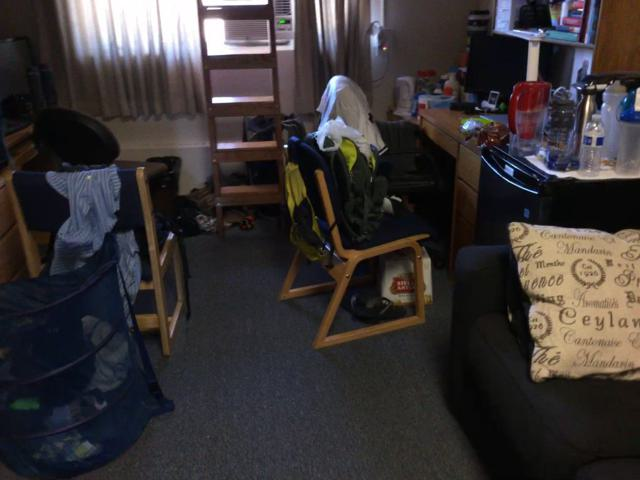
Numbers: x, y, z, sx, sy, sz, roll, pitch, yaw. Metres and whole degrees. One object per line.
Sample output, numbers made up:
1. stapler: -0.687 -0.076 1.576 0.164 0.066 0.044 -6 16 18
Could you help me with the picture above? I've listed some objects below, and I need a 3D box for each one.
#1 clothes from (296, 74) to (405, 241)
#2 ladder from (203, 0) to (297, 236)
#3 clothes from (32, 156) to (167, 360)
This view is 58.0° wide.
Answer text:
1. clothes: 0.130 -0.450 2.950 0.430 0.730 0.610 -3 19 -7
2. ladder: -0.400 -0.860 3.370 0.460 1.660 0.240 -3 19 -7
3. clothes: -0.780 0.060 2.120 0.330 0.680 0.260 -3 19 -7
